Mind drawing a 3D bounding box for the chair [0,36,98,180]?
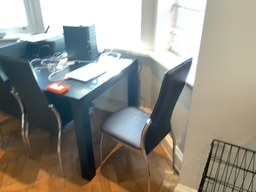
[{"bbox_3d":[-0.620,0.080,1.770,0.420,0.990,0.540,15,32,26],"label":"chair"}]

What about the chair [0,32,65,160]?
[{"bbox_3d":[-1.000,-0.020,1.960,0.420,0.990,0.540,14,31,24],"label":"chair"}]

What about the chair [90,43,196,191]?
[{"bbox_3d":[0.100,0.180,1.600,0.540,0.990,0.420,18,33,30],"label":"chair"}]
